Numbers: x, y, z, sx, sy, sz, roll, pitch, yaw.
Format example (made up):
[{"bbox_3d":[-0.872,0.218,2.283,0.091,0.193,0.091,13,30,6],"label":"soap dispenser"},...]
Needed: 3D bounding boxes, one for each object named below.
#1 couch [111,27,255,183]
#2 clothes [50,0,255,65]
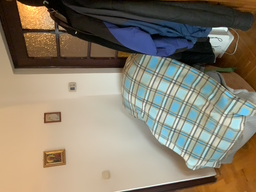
[{"bbox_3d":[0.490,0.050,2.070,0.960,1.020,1.040,104,156,-43],"label":"couch"},{"bbox_3d":[0.140,-0.450,1.420,0.730,1.210,0.270,-125,35,-60],"label":"clothes"}]
